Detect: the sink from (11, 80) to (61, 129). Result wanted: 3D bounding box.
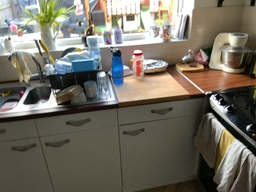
[{"bbox_3d":[-0.620,0.040,1.490,0.230,0.150,0.390,-7,28,-9],"label":"sink"}]

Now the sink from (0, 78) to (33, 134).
[{"bbox_3d":[-0.910,0.060,1.460,0.360,0.150,0.500,-7,28,-9],"label":"sink"}]
